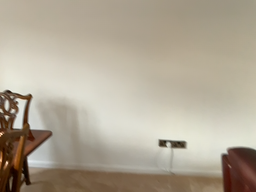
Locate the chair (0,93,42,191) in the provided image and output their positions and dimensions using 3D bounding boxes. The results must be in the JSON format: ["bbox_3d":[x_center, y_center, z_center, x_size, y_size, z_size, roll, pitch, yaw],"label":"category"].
[{"bbox_3d":[-1.230,0.500,1.930,0.590,0.970,0.590,2,11,3],"label":"chair"}]
